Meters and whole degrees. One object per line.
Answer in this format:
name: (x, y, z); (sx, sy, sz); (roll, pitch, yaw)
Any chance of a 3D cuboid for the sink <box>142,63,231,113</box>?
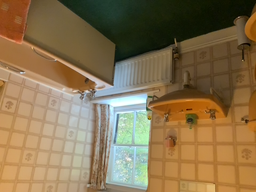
sink: (0.460, -0.030, 1.670); (0.540, 0.190, 0.430); (-10, 158, 37)
